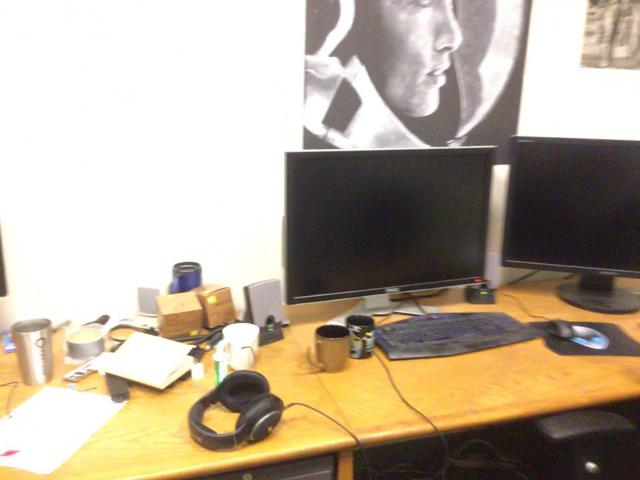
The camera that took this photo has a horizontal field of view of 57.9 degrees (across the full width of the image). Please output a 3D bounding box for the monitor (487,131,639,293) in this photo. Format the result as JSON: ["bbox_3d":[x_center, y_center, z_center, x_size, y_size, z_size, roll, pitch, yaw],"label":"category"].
[{"bbox_3d":[0.920,-0.100,1.880,0.690,0.490,0.210,3,14,13],"label":"monitor"}]

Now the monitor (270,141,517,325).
[{"bbox_3d":[0.230,-0.040,1.730,0.740,0.480,0.110,-5,14,-19],"label":"monitor"}]

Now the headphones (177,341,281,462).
[{"bbox_3d":[-0.200,0.330,1.230,0.170,0.120,0.250,-5,14,-19],"label":"headphones"}]

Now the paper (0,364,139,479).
[{"bbox_3d":[-0.580,0.370,1.200,0.250,0.060,0.340,3,14,13],"label":"paper"}]
